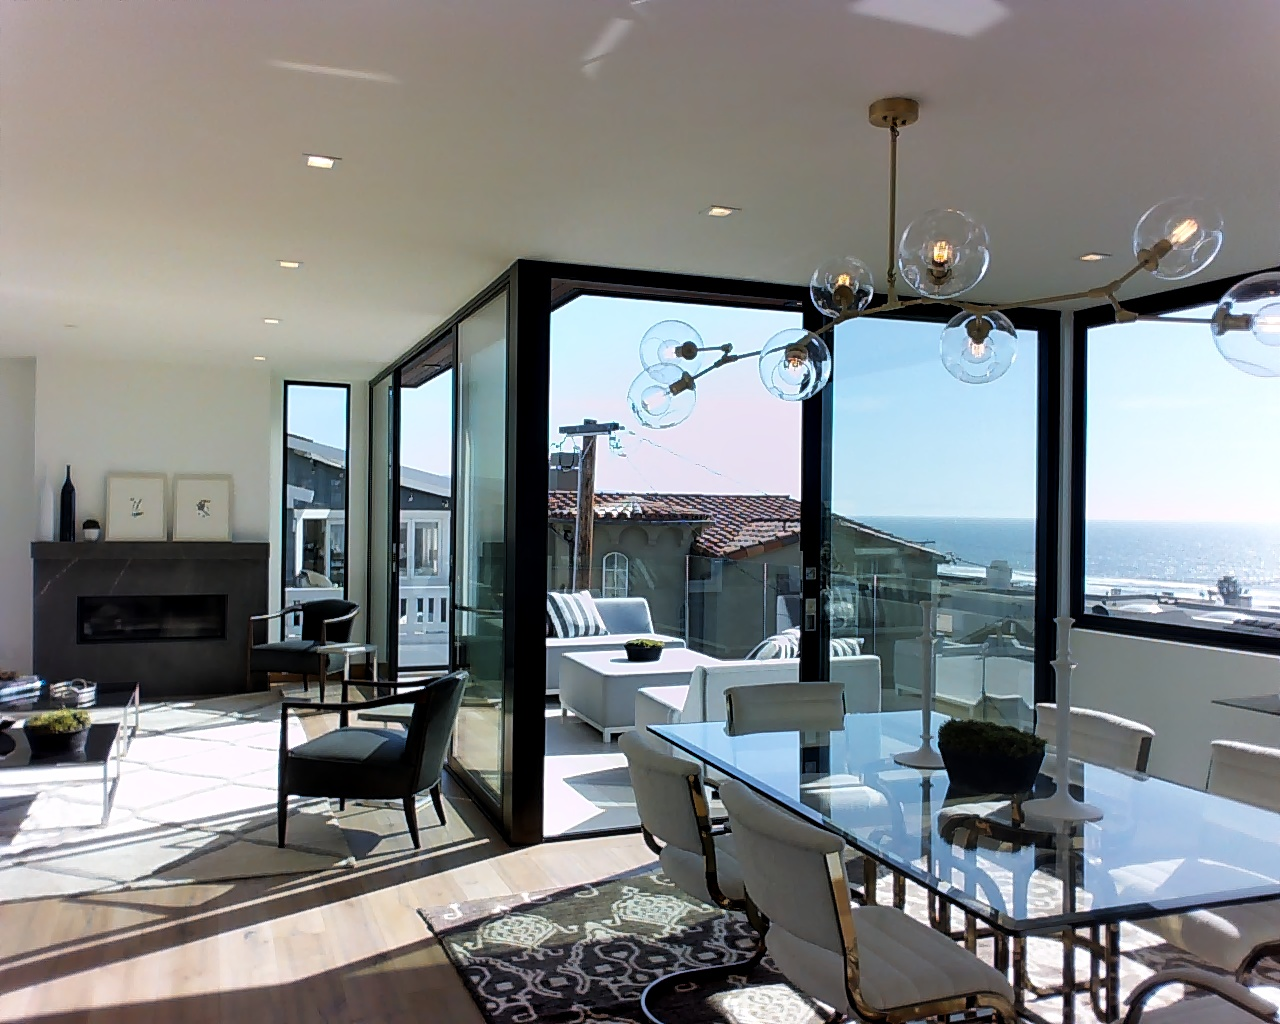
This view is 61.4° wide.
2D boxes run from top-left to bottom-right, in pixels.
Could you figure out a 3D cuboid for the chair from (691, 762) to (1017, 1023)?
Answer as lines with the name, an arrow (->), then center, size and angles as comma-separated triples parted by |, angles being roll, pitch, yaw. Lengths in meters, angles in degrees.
chair -> 0.500, 1.100, 2.630 | 0.580, 0.820, 0.530 | 1, 0, -21
